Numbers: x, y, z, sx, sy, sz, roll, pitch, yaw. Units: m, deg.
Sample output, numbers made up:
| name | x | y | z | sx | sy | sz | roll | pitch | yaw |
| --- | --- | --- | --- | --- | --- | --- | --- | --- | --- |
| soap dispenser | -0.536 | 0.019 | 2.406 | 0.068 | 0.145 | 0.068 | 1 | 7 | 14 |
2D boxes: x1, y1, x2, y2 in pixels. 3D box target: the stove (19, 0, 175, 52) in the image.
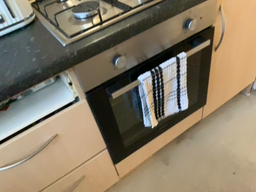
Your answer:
| name | x | y | z | sx | sy | sz | roll | pitch | yaw |
| --- | --- | --- | --- | --- | --- | --- | --- | --- | --- |
| stove | -0.110 | -0.410 | 0.860 | 0.560 | 0.030 | 0.540 | -30 | 46 | -17 |
